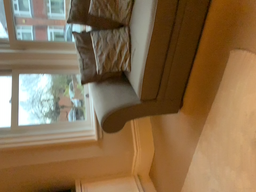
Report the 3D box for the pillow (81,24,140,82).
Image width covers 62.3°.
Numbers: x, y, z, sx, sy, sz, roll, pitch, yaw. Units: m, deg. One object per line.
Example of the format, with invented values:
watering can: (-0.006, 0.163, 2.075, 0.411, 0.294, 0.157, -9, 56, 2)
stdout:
pillow: (-0.160, -0.400, 1.990, 0.360, 0.400, 0.110, 53, 173, -23)
